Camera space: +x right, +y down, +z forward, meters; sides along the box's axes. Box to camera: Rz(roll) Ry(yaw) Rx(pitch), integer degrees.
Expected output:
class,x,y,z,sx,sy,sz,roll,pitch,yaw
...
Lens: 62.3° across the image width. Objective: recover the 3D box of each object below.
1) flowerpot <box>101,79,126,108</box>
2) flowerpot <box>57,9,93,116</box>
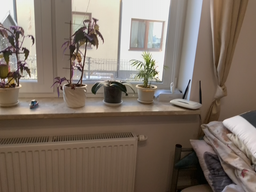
class,x,y,z,sx,sy,sz,roll,pitch,yaw
flowerpot,-0.100,-0.020,1.340,0.140,0.140,0.180,2,14,-8
flowerpot,-0.300,-0.190,1.240,0.160,0.550,0.280,2,14,-7
